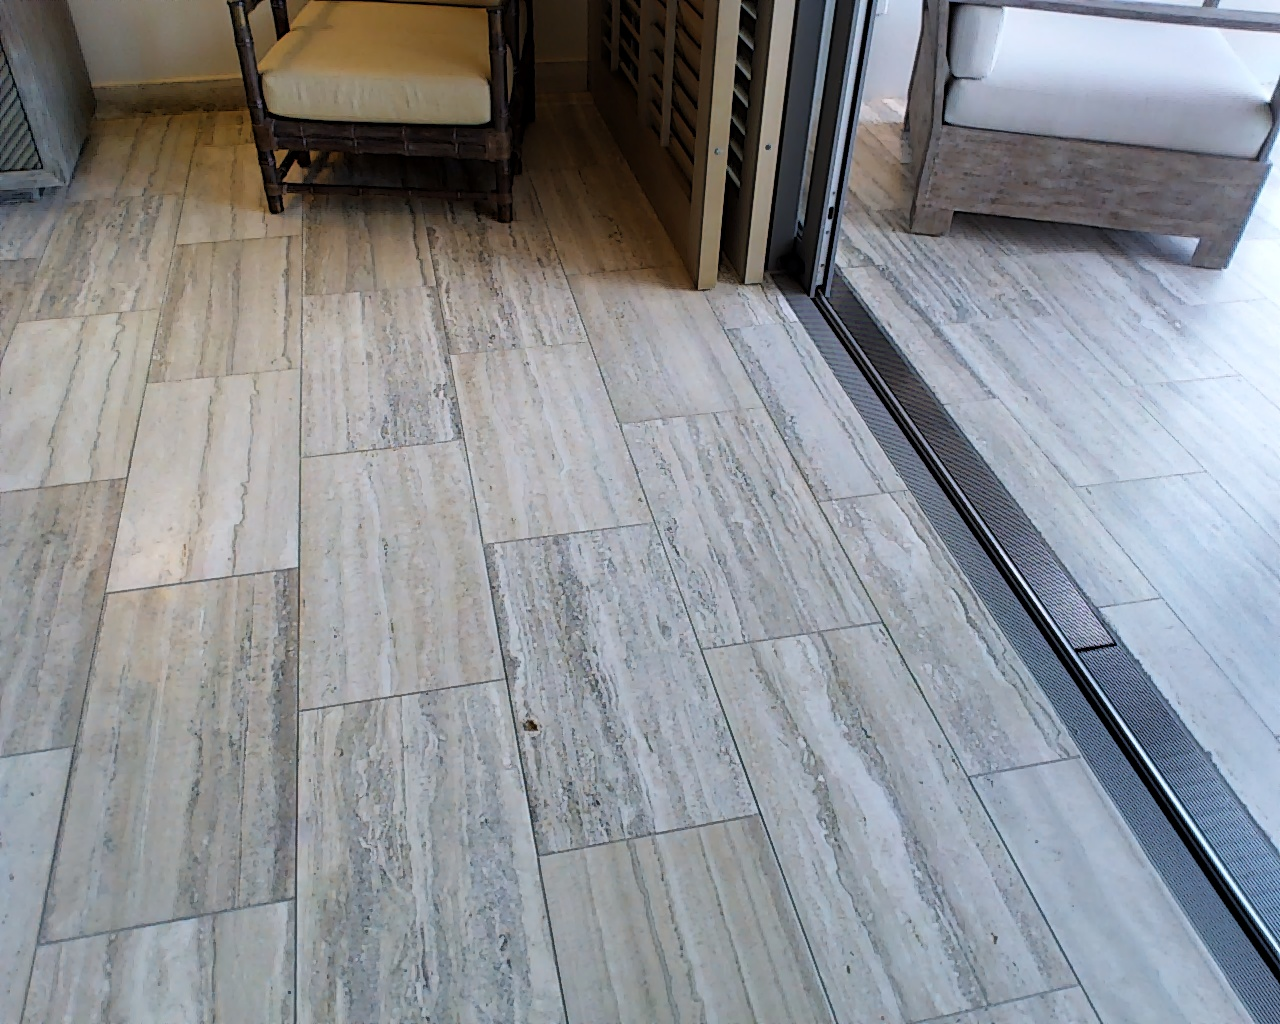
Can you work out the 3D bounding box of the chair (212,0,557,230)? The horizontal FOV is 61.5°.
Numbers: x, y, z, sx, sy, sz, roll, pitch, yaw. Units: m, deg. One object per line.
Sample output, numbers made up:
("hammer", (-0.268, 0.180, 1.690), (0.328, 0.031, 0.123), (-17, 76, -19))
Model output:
("chair", (-0.610, -1.270, 2.820), (0.710, 0.750, 0.750), (2, 41, 0))
